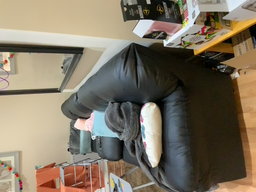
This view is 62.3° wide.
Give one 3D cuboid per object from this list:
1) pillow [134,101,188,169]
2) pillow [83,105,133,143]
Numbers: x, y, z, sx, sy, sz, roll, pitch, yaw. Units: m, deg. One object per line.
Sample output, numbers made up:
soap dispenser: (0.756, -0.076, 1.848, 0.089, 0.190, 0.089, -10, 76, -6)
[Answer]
pillow: (0.200, 0.230, 1.320, 0.250, 0.160, 0.370, -1, -97, -25)
pillow: (-0.220, 0.310, 2.320, 0.210, 0.440, 0.310, -24, -78, -67)
